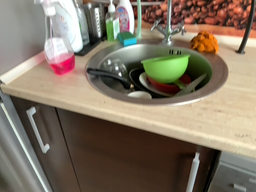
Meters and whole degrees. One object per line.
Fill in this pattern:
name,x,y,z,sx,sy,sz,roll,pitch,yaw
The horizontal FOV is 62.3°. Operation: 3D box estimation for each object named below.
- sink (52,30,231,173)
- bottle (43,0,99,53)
sink,0.100,-0.050,0.850,0.520,0.210,0.520,12,39,19
bottle,-0.230,-0.350,0.860,0.130,0.290,0.150,17,40,25
